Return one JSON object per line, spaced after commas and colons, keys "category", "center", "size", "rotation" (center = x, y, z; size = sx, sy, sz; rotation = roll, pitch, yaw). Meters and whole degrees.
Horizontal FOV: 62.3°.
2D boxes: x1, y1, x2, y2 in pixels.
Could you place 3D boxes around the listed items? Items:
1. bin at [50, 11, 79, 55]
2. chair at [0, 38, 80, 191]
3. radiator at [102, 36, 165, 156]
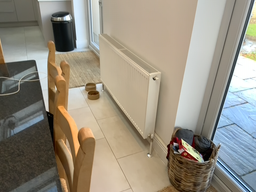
{"category": "bin", "center": [-1.240, -1.240, 4.160], "size": [0.410, 0.730, 0.380], "rotation": [-10, 33, -21]}
{"category": "chair", "center": [-0.620, 0.200, 1.330], "size": [0.490, 0.980, 0.460], "rotation": [-9, 32, -19]}
{"category": "radiator", "center": [-0.030, -0.090, 2.190], "size": [0.150, 0.730, 1.200], "rotation": [-9, 32, -19]}
